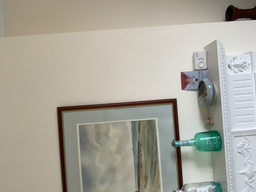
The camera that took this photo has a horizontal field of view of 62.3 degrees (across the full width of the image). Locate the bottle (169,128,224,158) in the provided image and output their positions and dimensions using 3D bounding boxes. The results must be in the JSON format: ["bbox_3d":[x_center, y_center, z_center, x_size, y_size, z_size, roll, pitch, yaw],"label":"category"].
[{"bbox_3d":[0.380,0.260,1.190,0.070,0.280,0.130,156,110,-87],"label":"bottle"}]
